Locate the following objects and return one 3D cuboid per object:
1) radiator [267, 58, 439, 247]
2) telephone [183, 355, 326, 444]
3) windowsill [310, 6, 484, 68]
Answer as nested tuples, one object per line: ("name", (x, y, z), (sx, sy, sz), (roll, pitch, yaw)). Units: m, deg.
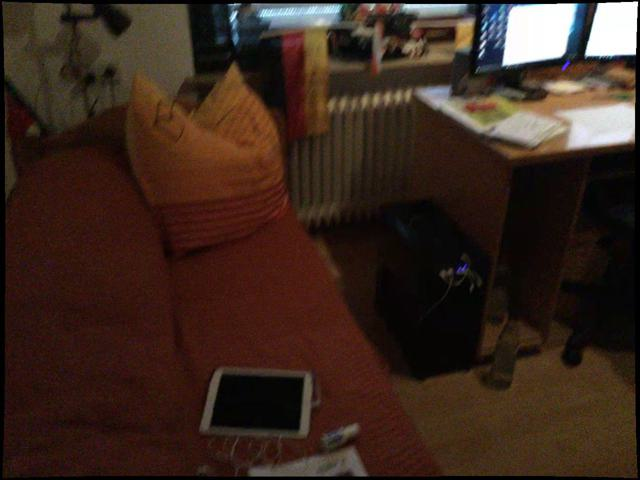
("radiator", (0.140, -0.400, 2.650), (0.689, 0.741, 0.240), (-10, 33, -14))
("telephone", (-0.140, 0.360, 1.330), (0.290, 0.040, 0.200), (3, 32, 6))
("windowsill", (0.320, -0.871, 2.460), (0.679, 0.150, 0.250), (-10, 33, -14))
